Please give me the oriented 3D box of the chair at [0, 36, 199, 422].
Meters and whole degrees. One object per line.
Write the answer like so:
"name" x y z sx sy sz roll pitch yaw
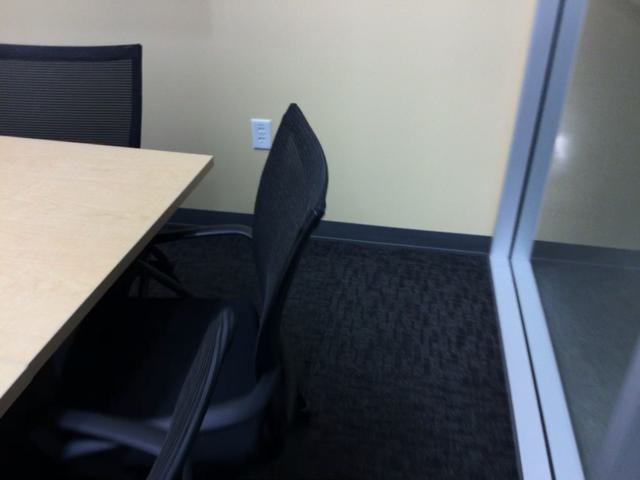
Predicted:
"chair" -0.720 -0.030 1.620 0.520 0.940 0.510 1 30 4

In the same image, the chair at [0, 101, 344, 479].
"chair" -0.280 0.260 1.150 0.630 0.890 0.650 1 30 4
